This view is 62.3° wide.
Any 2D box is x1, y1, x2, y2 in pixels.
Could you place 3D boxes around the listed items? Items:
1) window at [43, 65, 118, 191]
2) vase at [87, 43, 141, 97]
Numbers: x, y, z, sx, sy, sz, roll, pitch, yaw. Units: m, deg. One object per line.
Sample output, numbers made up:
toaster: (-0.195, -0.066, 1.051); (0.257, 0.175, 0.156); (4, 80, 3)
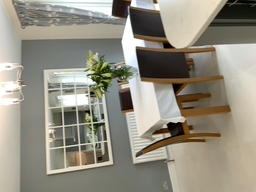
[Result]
window: (-0.840, 0.470, 3.590); (0.180, 1.050, 2.100); (119, 145, -67)
vase: (-0.200, -0.310, 2.570); (0.480, 0.540, 0.430); (109, 153, -60)
